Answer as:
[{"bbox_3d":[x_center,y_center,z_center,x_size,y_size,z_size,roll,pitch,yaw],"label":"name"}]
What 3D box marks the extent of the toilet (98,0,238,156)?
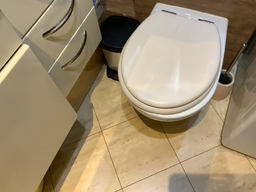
[{"bbox_3d":[0.180,-0.090,0.960,0.370,0.430,0.520,18,65,13],"label":"toilet"}]
